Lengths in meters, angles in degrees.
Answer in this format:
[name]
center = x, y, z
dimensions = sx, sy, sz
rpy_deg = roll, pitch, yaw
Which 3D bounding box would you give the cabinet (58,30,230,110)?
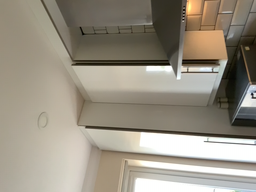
[cabinet]
center = 0.130, -0.200, 1.800
dimensions = 0.580, 1.200, 0.340
rpy_deg = 76, -160, -56

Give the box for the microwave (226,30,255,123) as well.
[microwave]
center = 0.990, -0.120, 1.590
dimensions = 0.570, 0.300, 0.430
rpy_deg = 76, -160, -56
